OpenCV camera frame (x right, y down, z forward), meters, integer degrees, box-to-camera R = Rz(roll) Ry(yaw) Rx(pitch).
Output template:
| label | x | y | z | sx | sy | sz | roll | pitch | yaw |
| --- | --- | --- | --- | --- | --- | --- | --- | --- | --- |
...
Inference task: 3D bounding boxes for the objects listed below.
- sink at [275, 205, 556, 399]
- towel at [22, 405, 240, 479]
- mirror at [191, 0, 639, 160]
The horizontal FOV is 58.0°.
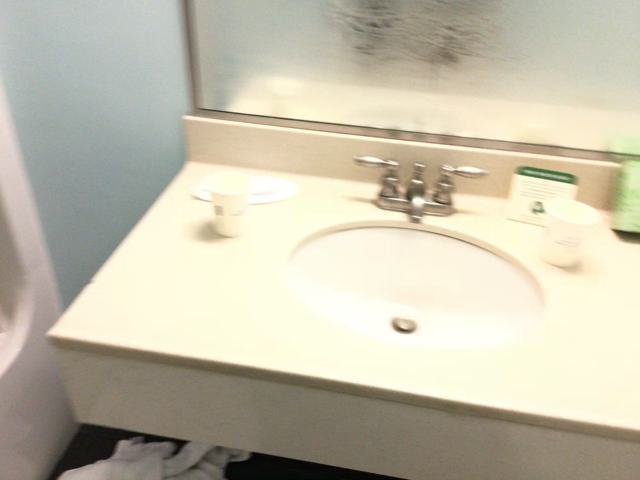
| label | x | y | z | sx | sy | sz | roll | pitch | yaw |
| --- | --- | --- | --- | --- | --- | --- | --- | --- | --- |
| sink | 0.150 | 0.100 | 1.010 | 0.420 | 0.200 | 0.200 | 8 | 33 | 6 |
| towel | -0.490 | 0.650 | 1.460 | 0.480 | 0.130 | 0.390 | 8 | 33 | 6 |
| mirror | 0.340 | -0.350 | 0.960 | 1.140 | 0.400 | 0.030 | 8 | 33 | 6 |
